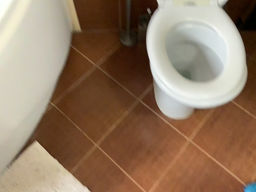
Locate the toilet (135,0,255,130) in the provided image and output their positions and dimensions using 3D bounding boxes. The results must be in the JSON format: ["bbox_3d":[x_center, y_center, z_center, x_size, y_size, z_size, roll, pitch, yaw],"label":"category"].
[{"bbox_3d":[0.250,-0.310,0.890,0.350,0.780,0.690,-4,65,-3],"label":"toilet"}]
